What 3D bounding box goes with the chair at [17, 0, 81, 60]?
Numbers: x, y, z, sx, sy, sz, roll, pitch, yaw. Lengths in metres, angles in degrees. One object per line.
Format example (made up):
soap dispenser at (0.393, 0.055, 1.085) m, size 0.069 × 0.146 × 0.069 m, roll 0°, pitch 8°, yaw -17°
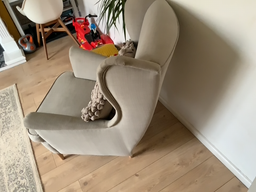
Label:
chair at (-1.050, -1.010, 2.800) m, size 0.490 × 0.790 × 0.530 m, roll -27°, pitch 46°, yaw -18°
